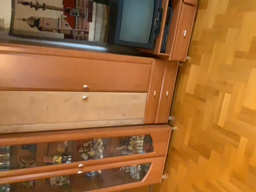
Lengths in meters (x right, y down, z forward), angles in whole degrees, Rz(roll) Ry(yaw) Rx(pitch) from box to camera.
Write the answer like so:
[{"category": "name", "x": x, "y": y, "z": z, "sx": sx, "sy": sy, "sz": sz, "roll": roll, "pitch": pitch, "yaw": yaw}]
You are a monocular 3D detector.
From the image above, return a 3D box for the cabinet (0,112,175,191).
[{"category": "cabinet", "x": -0.490, "y": 0.610, "z": 2.220, "sx": 0.440, "sy": 1.980, "sz": 0.720, "roll": 32, "pitch": 118, "yaw": 58}]

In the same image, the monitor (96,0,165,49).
[{"category": "monitor", "x": 0.000, "y": -0.790, "z": 2.140, "sx": 0.560, "sy": 0.430, "sz": 0.490, "roll": 39, "pitch": 124, "yaw": 56}]
